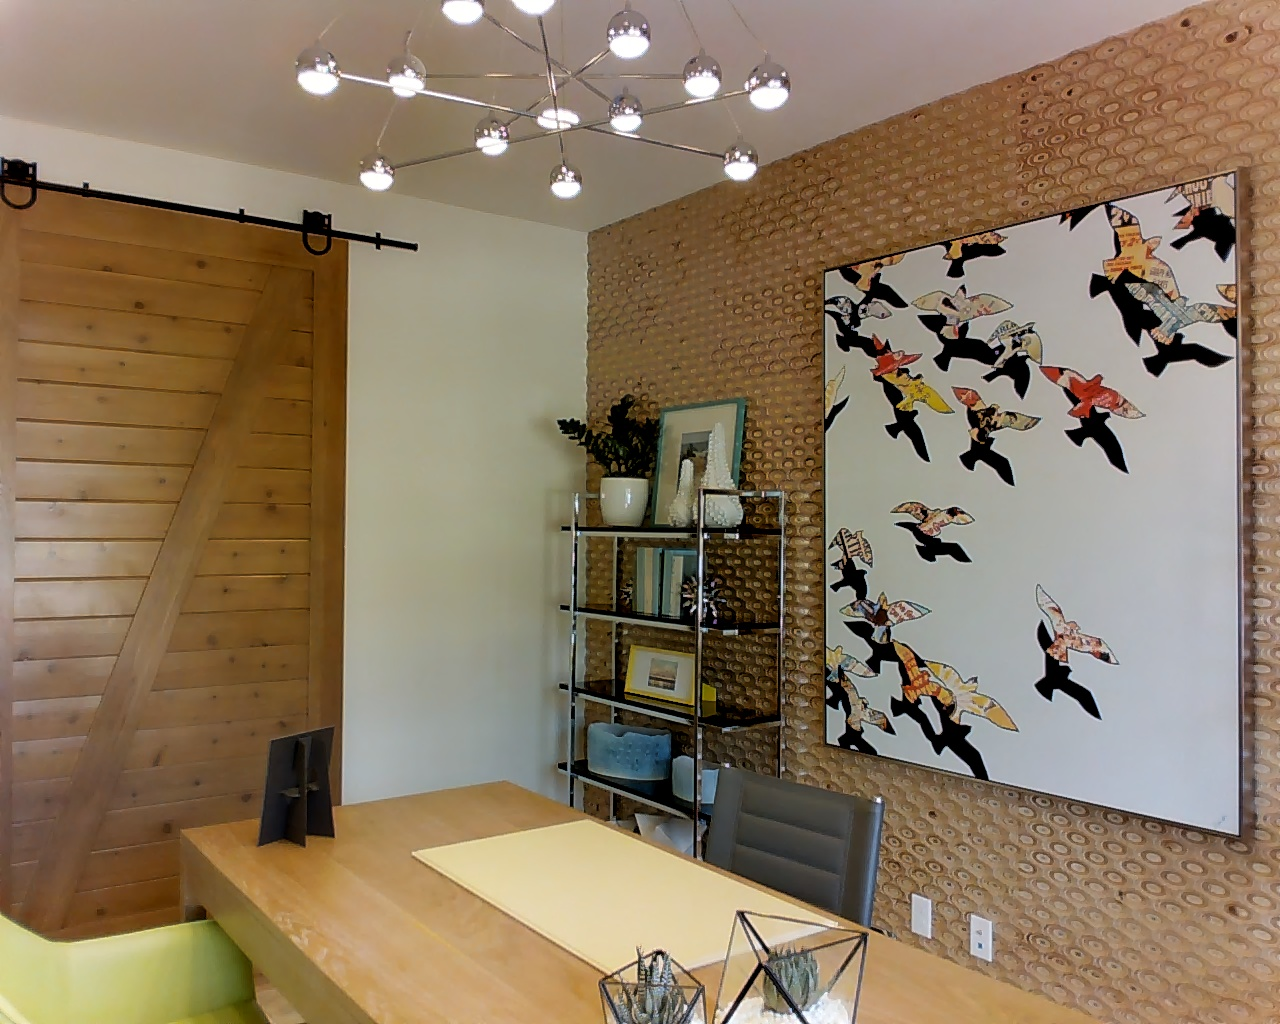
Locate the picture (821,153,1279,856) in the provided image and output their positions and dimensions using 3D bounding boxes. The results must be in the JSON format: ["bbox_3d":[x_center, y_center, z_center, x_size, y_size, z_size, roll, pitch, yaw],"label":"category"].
[{"bbox_3d":[1.040,-0.010,2.990,0.090,1.581,1.380,2,-2,-36],"label":"picture"}]
